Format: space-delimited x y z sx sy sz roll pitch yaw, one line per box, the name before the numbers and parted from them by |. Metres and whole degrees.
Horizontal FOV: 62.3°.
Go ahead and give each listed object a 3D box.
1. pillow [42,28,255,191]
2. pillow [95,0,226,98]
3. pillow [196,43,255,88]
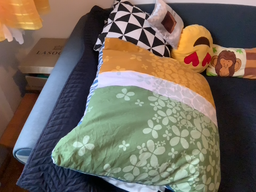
pillow | 0.100 0.050 0.830 0.540 0.310 0.640 7 44 5
pillow | 0.150 -0.280 1.220 0.590 0.430 0.320 5 44 2
pillow | 0.660 -0.190 1.330 0.380 0.210 0.150 4 44 1
